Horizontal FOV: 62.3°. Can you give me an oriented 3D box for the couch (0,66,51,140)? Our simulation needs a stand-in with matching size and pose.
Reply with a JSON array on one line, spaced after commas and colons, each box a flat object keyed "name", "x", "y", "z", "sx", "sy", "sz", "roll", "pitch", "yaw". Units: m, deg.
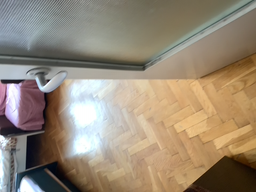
[{"name": "couch", "x": -1.430, "y": 0.040, "z": 2.540, "sx": 0.680, "sy": 0.650, "sz": 0.680, "roll": 20, "pitch": 106, "yaw": 38}]
